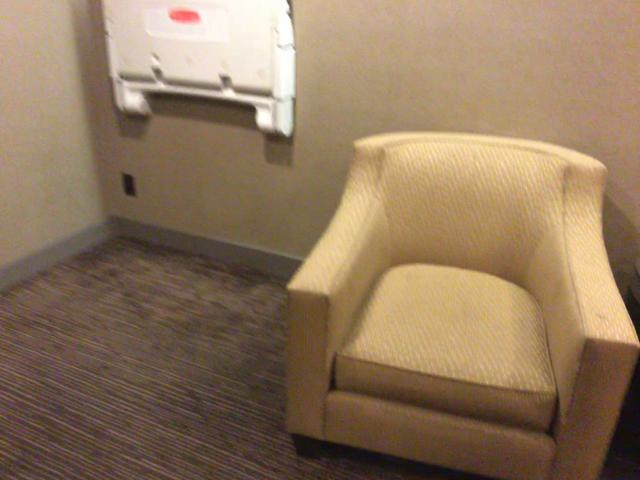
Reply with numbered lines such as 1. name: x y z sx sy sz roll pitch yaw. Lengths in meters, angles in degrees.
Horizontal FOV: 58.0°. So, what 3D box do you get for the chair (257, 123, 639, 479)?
1. chair: 0.430 0.160 1.810 0.910 0.840 0.980 6 22 15
